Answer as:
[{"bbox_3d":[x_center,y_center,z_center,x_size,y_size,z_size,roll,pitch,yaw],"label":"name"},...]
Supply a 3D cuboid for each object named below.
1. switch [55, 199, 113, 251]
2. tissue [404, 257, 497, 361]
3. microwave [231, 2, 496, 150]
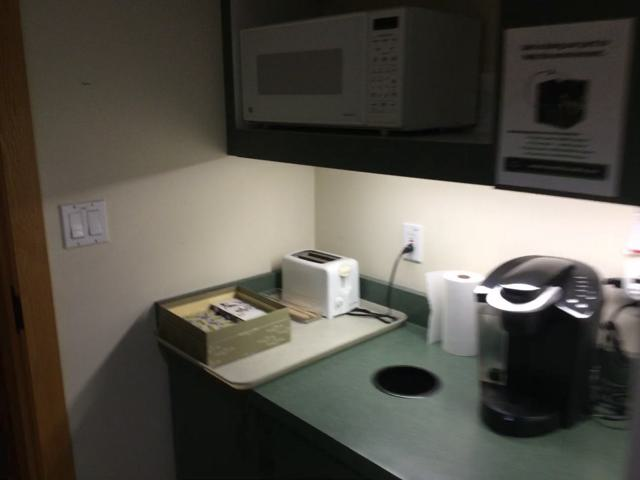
[{"bbox_3d":[-0.590,-0.040,1.450,0.120,0.110,0.030,-13,20,-41],"label":"switch"},{"bbox_3d":[0.350,0.180,1.570,0.120,0.210,0.200,-13,20,-41],"label":"tissue"},{"bbox_3d":[0.090,-0.430,1.550,0.360,0.300,0.610,-13,20,-41],"label":"microwave"}]
